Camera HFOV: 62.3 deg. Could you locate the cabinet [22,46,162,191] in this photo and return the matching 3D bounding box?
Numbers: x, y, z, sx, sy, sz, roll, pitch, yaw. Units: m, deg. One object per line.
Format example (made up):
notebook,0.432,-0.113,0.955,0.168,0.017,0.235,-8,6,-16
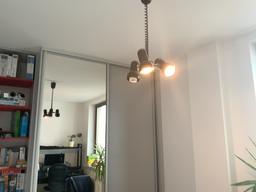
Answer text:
cabinet,-0.430,0.850,2.950,1.750,2.650,0.660,6,-13,-31
